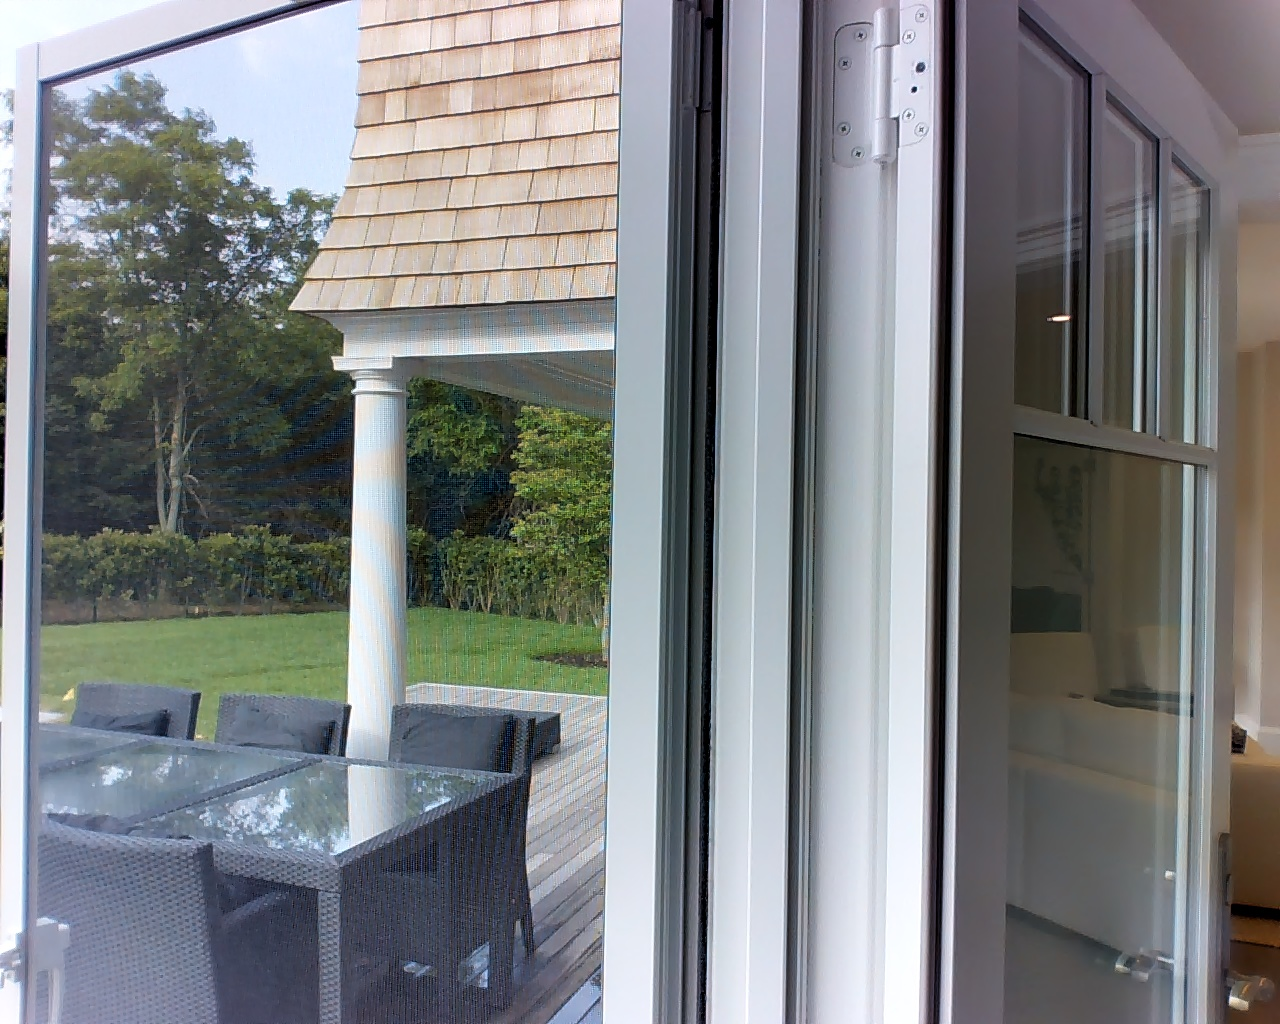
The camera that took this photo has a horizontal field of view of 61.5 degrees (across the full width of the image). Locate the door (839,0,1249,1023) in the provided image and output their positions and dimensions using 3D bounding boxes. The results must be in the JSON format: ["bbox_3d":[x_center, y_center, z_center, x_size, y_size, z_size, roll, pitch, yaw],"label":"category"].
[{"bbox_3d":[0.460,0.480,1.090,0.080,2.120,0.910,1,0,40],"label":"door"}]
